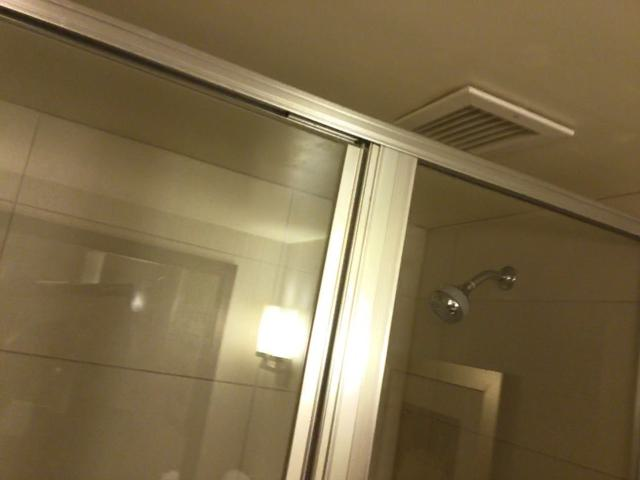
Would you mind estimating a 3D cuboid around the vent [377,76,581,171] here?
[{"bbox_3d":[0.240,-0.170,0.900,0.230,0.030,0.200,15,-9,-24],"label":"vent"}]
